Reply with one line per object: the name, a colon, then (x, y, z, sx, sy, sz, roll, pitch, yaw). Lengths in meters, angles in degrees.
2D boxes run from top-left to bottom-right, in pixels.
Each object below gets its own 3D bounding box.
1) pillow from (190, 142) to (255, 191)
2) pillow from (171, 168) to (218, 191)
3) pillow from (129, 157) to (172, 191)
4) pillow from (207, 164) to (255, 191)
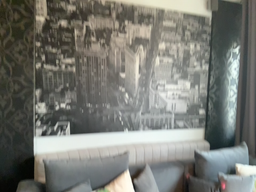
pillow: (1.090, 0.730, 2.280, 0.870, 0.330, 0.190, 0, 8, -25)
pillow: (0.630, 0.880, 2.040, 0.210, 0.200, 0.380, -1, 5, -29)
pillow: (0.190, 0.820, 1.960, 0.140, 0.350, 0.400, 35, 35, 28)
pillow: (0.980, 0.870, 2.030, 0.330, 0.290, 0.260, 0, 5, -27)
